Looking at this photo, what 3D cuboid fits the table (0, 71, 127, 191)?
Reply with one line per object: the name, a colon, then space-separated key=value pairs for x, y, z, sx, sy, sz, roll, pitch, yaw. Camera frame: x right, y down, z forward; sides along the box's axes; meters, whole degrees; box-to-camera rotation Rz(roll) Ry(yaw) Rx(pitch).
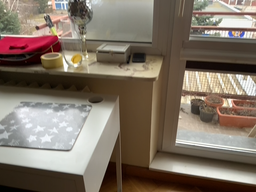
table: x=-0.800 y=0.340 z=1.220 sx=1.510 sy=0.770 sz=0.660 roll=4 pitch=30 yaw=7
